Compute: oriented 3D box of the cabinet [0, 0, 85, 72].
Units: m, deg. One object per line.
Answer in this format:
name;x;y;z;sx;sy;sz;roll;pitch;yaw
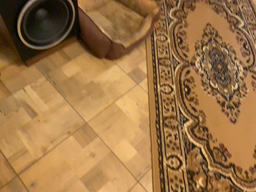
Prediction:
cabinet;-0.490;-0.560;1.040;0.290;0.790;0.440;41;63;14
